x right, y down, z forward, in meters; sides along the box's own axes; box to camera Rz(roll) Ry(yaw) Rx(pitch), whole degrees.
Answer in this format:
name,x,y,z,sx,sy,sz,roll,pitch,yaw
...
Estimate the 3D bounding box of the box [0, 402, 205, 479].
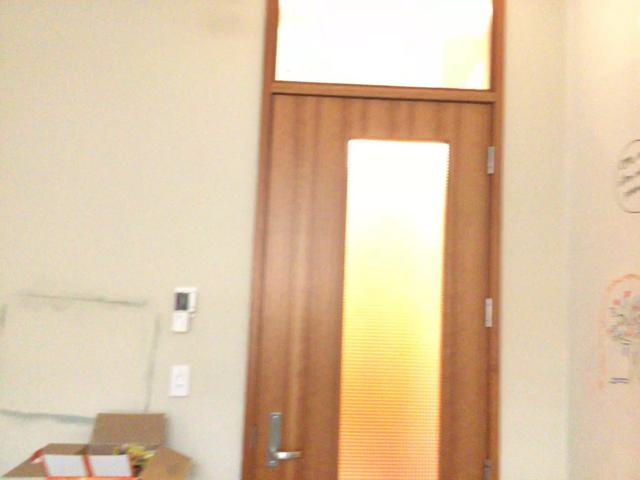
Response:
name,x,y,z,sx,sy,sz,roll,pitch,yaw
box,-0.660,0.780,1.850,0.480,0.400,0.650,4,-9,-5
